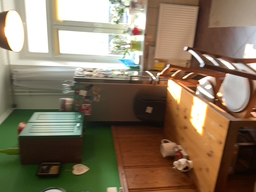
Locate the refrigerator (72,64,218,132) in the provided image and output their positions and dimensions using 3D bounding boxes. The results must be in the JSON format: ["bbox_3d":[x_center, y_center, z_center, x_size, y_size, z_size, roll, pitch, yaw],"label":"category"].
[{"bbox_3d":[0.190,0.000,3.130,0.730,1.890,0.770,-117,29,-71],"label":"refrigerator"}]

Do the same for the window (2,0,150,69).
[{"bbox_3d":[-0.800,-1.190,3.550,0.350,2.240,1.370,-120,32,-73],"label":"window"}]
